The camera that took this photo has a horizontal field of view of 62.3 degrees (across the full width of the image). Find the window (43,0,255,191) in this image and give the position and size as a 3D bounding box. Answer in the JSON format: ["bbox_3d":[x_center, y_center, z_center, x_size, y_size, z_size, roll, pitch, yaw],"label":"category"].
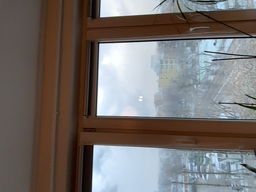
[{"bbox_3d":[0.260,-0.180,1.340,0.140,1.560,2.430,24,-113,-81],"label":"window"}]
